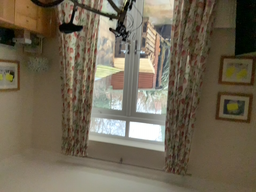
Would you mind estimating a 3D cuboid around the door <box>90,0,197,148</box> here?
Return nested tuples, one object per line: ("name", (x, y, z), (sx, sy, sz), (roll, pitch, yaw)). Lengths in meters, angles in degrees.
("door", (0.180, -0.580, 3.340), (1.580, 2.610, 0.110), (5, -174, 17))

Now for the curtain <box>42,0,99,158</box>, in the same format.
("curtain", (-0.860, -0.540, 3.160), (0.710, 2.830, 0.290), (5, -174, 14))

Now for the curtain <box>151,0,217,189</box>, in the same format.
("curtain", (0.710, -0.320, 2.670), (0.610, 2.870, 0.230), (5, -174, 17))

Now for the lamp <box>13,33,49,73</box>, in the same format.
("lamp", (-1.500, -0.660, 3.290), (0.390, 0.570, 0.310), (4, -174, 13))
